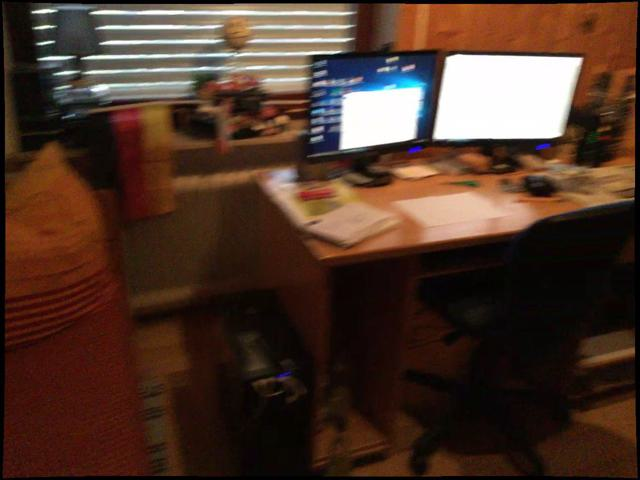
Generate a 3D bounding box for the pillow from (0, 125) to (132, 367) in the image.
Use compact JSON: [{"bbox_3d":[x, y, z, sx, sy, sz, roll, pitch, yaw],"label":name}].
[{"bbox_3d":[-0.909,0.000,1.730,0.560,0.510,0.530,-8,29,-20],"label":"pillow"}]
